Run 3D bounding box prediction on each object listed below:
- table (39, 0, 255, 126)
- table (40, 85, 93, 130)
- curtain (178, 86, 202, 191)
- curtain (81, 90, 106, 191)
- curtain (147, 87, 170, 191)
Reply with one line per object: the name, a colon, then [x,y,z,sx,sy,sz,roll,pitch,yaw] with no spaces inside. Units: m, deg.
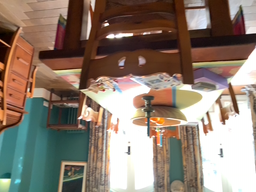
table: [0.260,-0.250,2.020,0.970,0.790,2.210,-2,165,9]
table: [-1.150,0.250,4.090,0.740,0.760,0.590,-2,165,11]
curtain: [1.080,0.900,3.710,0.270,2.210,0.140,-1,165,7]
curtain: [-0.640,0.960,3.980,0.330,2.160,0.180,-2,165,10]
curtain: [0.530,0.940,3.740,0.350,2.250,0.190,-1,165,7]
